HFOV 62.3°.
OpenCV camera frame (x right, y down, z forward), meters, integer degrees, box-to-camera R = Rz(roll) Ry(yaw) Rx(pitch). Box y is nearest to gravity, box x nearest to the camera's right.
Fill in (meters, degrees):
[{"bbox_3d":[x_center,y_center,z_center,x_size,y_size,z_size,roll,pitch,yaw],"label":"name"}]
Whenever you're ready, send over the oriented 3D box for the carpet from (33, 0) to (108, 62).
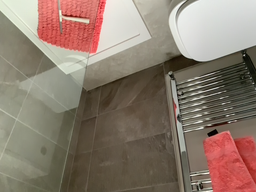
[{"bbox_3d":[-0.390,-0.490,1.400,0.430,0.050,0.540,12,139,-12],"label":"carpet"}]
